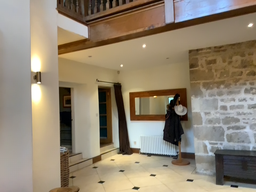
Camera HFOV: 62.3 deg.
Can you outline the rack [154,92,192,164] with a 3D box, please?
[{"bbox_3d":[1.310,0.860,6.130,0.780,1.900,0.810,-3,-3,33],"label":"rack"}]
